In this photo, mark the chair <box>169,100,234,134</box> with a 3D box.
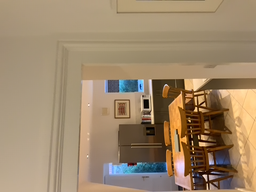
[{"bbox_3d":[1.150,0.360,3.460,0.560,0.820,0.490,103,165,-79],"label":"chair"}]

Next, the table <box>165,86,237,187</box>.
[{"bbox_3d":[1.180,0.700,3.740,0.940,0.750,1.530,99,170,-74],"label":"table"}]
